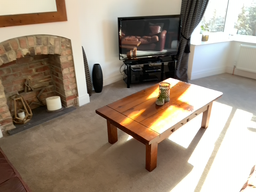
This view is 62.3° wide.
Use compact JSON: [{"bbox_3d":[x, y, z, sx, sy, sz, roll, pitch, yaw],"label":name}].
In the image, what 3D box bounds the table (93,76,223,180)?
[{"bbox_3d":[0.390,0.250,2.570,1.360,0.470,0.810,-22,33,-36],"label":"table"}]
